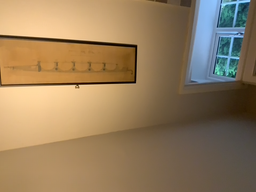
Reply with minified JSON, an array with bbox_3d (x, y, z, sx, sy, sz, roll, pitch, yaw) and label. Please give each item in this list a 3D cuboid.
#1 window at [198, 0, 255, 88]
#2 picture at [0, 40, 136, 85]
[{"bbox_3d":[1.330,-0.920,2.790,0.080,1.540,0.610,-7,-161,-36],"label":"window"},{"bbox_3d":[-0.300,-0.190,1.240,0.770,0.220,0.040,-4,-163,-29],"label":"picture"}]
